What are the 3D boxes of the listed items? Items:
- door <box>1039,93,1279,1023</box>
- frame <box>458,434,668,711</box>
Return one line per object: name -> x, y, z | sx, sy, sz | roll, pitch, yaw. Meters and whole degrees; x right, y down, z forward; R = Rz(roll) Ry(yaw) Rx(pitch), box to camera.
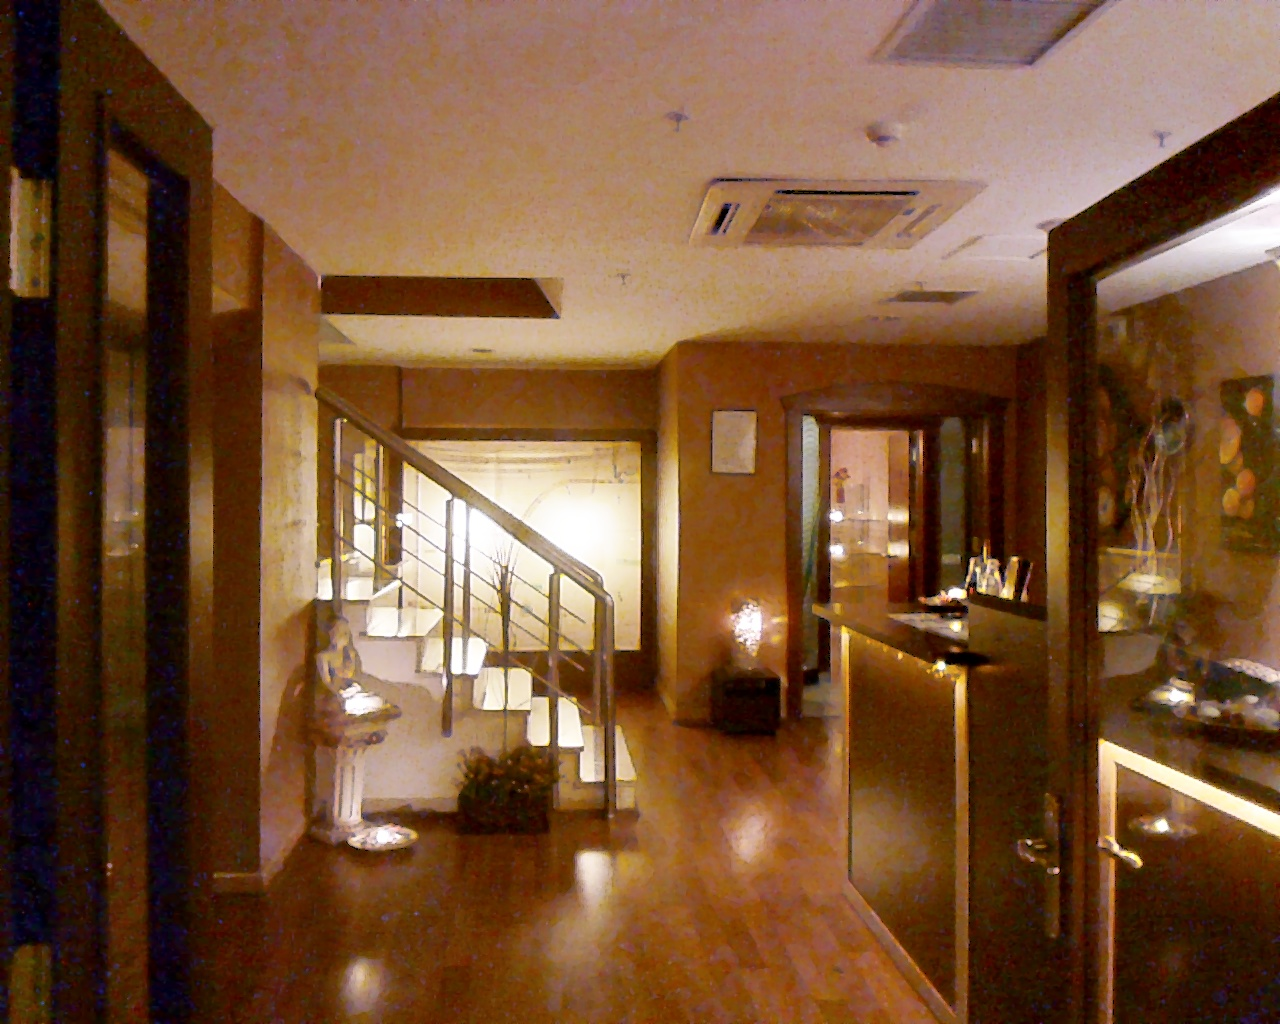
door -> 0.790, 0.560, 1.460 | 0.110, 2.100, 0.890 | 0, 0, -4
frame -> -0.620, 0.480, 8.710 | 1.680, 2.200, 0.150 | 0, 0, -4
